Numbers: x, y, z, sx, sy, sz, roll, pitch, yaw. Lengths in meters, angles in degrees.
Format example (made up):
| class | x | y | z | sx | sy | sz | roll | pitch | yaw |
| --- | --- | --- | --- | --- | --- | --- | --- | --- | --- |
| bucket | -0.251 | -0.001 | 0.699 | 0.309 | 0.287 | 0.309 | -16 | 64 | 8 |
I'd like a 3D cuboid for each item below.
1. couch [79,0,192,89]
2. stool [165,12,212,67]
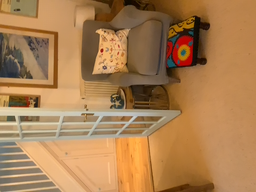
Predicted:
| class | x | y | z | sx | sy | sz | roll | pitch | yaw |
| --- | --- | --- | --- | --- | --- | --- | --- | --- | --- |
| couch | 0.000 | -0.530 | 2.420 | 0.970 | 0.900 | 0.750 | -160 | 74 | -66 |
| stool | 0.550 | -0.500 | 1.970 | 0.320 | 0.240 | 0.410 | -172 | 85 | -67 |
